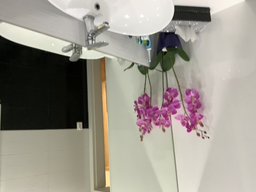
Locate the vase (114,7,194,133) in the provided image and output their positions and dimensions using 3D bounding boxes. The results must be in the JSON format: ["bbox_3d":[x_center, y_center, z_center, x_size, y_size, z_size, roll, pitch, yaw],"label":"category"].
[{"bbox_3d":[0.140,-0.120,1.280,0.360,0.650,0.230,-12,167,38],"label":"vase"}]
